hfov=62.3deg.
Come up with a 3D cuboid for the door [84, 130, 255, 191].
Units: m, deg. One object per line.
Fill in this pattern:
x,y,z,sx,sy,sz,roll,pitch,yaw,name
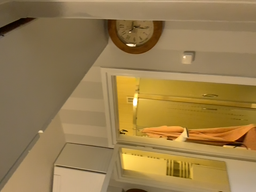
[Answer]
0.810,0.660,1.380,0.750,2.180,0.070,-74,-15,-48,door
